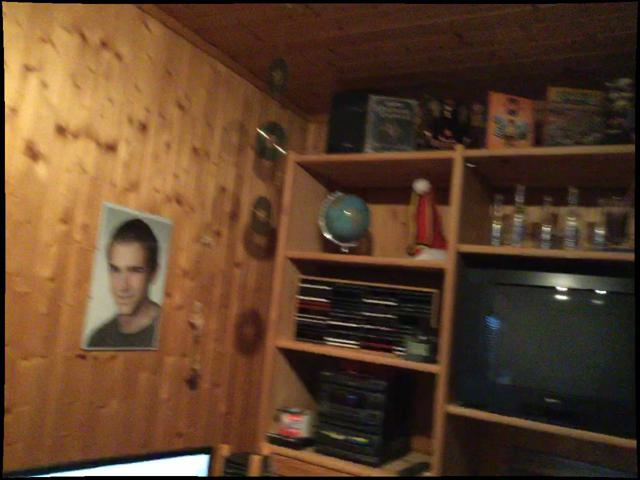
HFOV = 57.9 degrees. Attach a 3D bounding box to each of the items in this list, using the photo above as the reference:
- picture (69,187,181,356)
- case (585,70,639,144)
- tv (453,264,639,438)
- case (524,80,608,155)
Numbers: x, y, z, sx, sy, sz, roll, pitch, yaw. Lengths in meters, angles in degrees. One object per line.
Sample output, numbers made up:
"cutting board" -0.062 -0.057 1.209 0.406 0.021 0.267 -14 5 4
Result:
"picture" -0.599 0.110 1.830 0.050 0.480 0.310 1 -14 26
"case" 0.979 -0.420 1.840 0.220 0.210 0.110 0 2 4
"tv" 0.739 0.310 1.740 0.629 0.440 0.200 1 3 26
"case" 0.829 -0.410 1.960 0.230 0.230 0.120 0 2 4
